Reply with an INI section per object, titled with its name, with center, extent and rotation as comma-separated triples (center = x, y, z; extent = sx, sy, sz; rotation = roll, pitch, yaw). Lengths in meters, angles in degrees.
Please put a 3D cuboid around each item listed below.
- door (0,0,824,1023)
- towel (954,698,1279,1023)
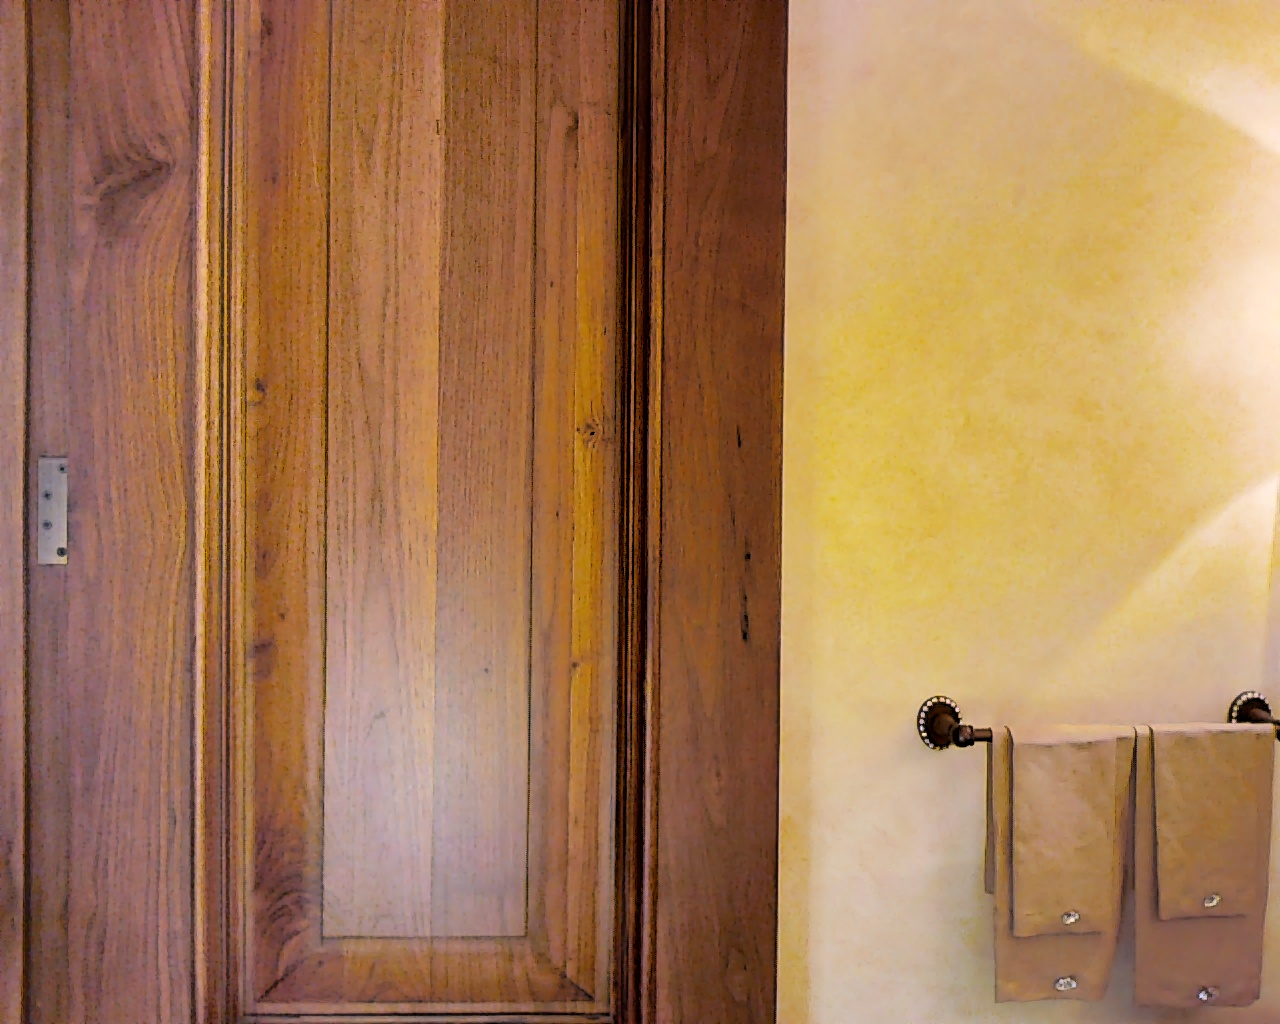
[door]
center = -0.230, 0.320, 1.100
extent = 0.810, 2.450, 0.070
rotation = 0, 1, -2
[towel]
center = 0.590, 0.430, 1.280
extent = 0.400, 0.400, 0.090
rotation = 0, 1, -3
